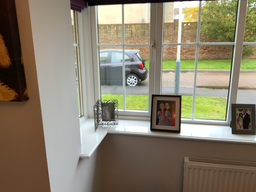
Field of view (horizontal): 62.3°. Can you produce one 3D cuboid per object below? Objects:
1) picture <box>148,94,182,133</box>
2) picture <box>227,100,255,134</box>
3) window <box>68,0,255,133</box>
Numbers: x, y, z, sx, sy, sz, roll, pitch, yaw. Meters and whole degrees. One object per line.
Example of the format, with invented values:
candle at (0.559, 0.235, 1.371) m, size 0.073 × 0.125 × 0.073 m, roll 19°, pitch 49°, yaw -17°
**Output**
picture at (0.290, 0.130, 1.660) m, size 0.240 × 0.280 × 0.180 m, roll 2°, pitch -2°, yaw 11°
picture at (0.850, 0.150, 1.560) m, size 0.170 × 0.220 × 0.110 m, roll 2°, pitch 15°, yaw 9°
window at (0.710, -0.210, 1.620) m, size 2.410 × 0.990 × 0.060 m, roll 3°, pitch 15°, yaw 11°
